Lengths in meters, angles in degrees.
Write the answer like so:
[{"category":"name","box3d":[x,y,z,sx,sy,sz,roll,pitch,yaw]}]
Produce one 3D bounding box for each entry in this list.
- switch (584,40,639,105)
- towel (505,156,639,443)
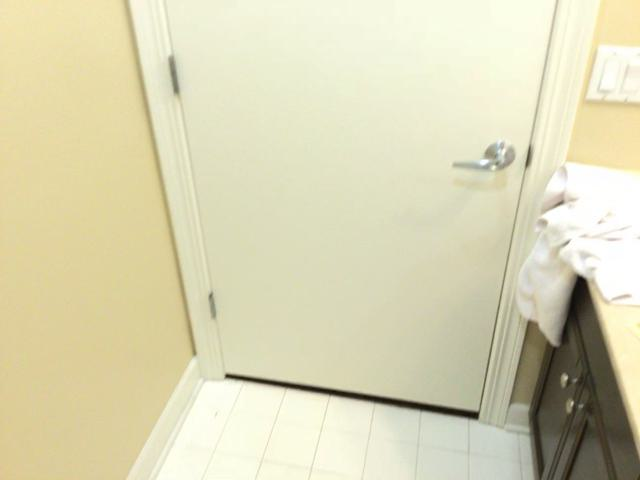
[{"category":"switch","box3d":[0.640,-0.340,1.180,0.160,0.120,0.020,8,33,11]},{"category":"towel","box3d":[0.670,0.130,1.250,0.430,0.470,0.360,8,33,11]}]
